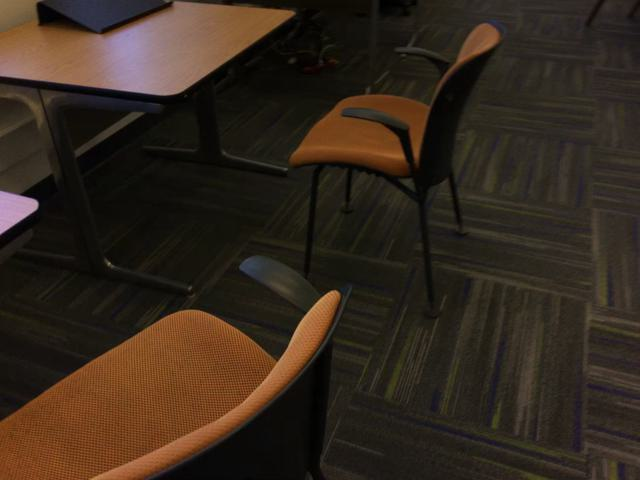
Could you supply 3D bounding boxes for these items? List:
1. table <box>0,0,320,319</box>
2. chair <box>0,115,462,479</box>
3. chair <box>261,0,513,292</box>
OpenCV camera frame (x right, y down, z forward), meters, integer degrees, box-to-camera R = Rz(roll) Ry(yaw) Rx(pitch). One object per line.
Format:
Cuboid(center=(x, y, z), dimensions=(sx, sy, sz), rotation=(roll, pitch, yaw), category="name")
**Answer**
Cuboid(center=(-0.640, -0.430, 2.180), dimensions=(0.970, 0.740, 1.040), rotation=(12, 39, 17), category="table")
Cuboid(center=(-0.250, 0.370, 0.960), dimensions=(0.630, 0.850, 0.600), rotation=(26, 44, 31), category="chair")
Cuboid(center=(0.220, -0.330, 1.860), dimensions=(0.600, 0.700, 0.530), rotation=(12, 39, 17), category="chair")
